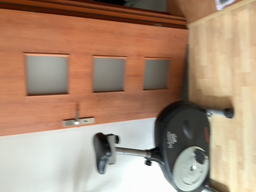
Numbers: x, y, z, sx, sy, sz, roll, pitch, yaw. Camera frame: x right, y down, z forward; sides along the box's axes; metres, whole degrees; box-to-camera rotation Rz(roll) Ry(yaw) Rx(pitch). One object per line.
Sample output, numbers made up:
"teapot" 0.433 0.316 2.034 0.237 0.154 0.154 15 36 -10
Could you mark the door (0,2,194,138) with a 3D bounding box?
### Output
"door" -0.330 -0.170 1.640 0.080 2.060 0.860 28 117 58
